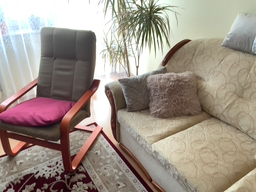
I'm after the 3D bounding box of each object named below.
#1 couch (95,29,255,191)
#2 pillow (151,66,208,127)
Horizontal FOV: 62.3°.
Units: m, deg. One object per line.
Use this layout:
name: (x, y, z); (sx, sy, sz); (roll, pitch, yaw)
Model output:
couch: (0.690, 0.250, 1.490); (1.020, 0.910, 1.960); (-18, 35, -29)
pillow: (0.430, 0.010, 1.750); (0.450, 0.270, 0.150); (-37, 55, -12)
